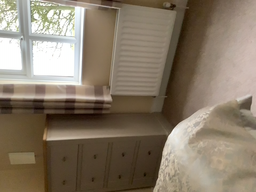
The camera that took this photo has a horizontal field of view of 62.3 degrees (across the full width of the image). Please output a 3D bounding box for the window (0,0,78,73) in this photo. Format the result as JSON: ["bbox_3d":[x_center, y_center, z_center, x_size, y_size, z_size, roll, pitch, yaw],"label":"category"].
[{"bbox_3d":[-0.970,-0.560,2.040,0.020,0.930,0.680,-117,33,-58],"label":"window"}]

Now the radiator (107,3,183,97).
[{"bbox_3d":[0.140,-0.390,2.040,0.070,0.590,0.850,-117,33,-58],"label":"radiator"}]
